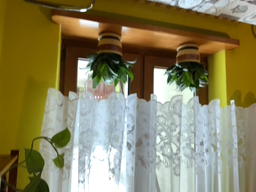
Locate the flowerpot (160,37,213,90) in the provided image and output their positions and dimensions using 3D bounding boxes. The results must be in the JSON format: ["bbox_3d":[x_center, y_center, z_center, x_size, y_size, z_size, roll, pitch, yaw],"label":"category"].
[{"bbox_3d":[0.420,-0.220,1.550,0.260,0.300,0.270,4,173,-22],"label":"flowerpot"}]

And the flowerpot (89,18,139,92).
[{"bbox_3d":[-0.090,-0.230,1.310,0.240,0.380,0.210,4,173,-21],"label":"flowerpot"}]
